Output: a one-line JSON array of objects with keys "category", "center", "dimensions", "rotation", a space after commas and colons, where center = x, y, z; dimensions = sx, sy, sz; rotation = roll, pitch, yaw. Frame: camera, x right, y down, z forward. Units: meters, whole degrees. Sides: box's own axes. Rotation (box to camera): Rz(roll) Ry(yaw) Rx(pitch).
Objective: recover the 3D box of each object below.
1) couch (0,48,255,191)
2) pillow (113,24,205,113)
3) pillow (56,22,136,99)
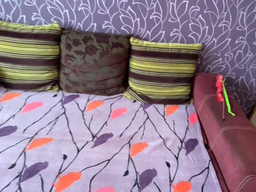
[{"category": "couch", "center": [-0.550, 0.360, 1.290], "dimensions": [2.530, 0.630, 1.550], "rotation": [4, 36, -4]}, {"category": "pillow", "center": [0.220, -0.200, 1.700], "dimensions": [0.510, 0.500, 0.220], "rotation": [23, 30, -16]}, {"category": "pillow", "center": [-0.260, -0.260, 1.670], "dimensions": [0.500, 0.460, 0.190], "rotation": [11, 33, -17]}]
